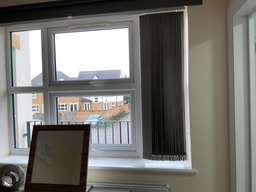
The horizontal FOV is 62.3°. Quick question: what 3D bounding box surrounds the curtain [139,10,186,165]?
[{"bbox_3d":[0.280,-0.060,1.720,0.330,1.200,0.110,-2,1,9],"label":"curtain"}]
